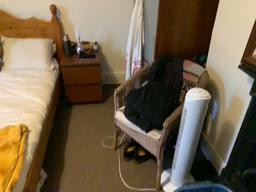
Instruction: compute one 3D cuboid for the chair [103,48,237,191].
[{"bbox_3d":[0.290,0.150,1.710,0.680,0.780,0.660,-25,41,-36],"label":"chair"}]
